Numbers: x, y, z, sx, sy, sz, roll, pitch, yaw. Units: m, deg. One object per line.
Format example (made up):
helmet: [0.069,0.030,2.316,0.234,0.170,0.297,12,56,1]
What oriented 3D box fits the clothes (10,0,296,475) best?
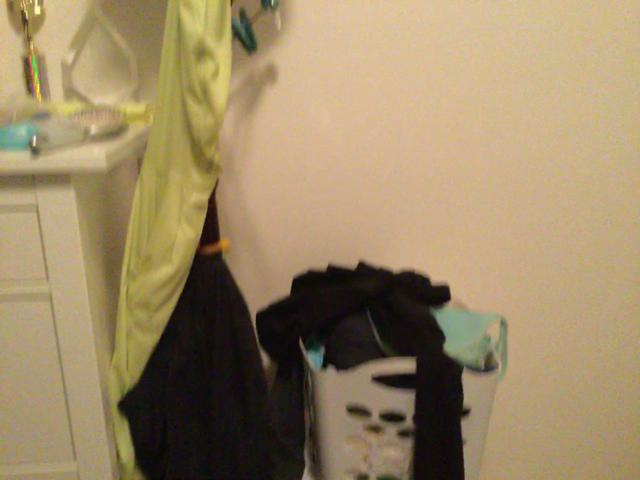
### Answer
clothes: [-0.240,-0.110,0.900,0.200,0.880,0.260,-13,15,-2]

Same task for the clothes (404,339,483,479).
clothes: [0.200,0.410,0.980,0.090,0.470,0.110,-2,14,-5]

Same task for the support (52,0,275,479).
support: [-0.210,0.320,1.010,0.250,1.520,0.220,-2,14,-5]
